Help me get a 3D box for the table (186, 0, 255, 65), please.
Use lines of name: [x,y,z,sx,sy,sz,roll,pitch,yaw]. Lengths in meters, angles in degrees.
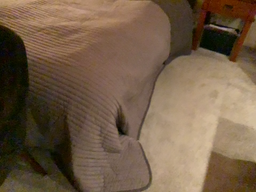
table: [0.990,-0.780,2.210,0.500,0.640,0.490,21,44,16]
